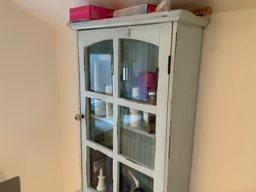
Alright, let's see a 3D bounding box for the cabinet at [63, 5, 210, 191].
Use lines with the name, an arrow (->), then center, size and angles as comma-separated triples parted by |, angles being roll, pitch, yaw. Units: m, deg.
cabinet -> -0.010, 0.100, 0.650 | 0.400, 0.640, 0.150 | 11, 15, 40
